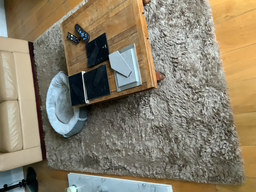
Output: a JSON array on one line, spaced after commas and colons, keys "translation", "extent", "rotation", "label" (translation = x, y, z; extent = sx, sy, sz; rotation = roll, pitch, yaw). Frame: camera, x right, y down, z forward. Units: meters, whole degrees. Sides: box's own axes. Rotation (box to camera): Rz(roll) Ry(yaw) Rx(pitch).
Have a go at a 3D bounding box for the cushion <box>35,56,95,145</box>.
[{"translation": [-0.710, 0.070, 2.260], "extent": [0.710, 0.120, 0.680], "rotation": [-37, 69, 37], "label": "cushion"}]
